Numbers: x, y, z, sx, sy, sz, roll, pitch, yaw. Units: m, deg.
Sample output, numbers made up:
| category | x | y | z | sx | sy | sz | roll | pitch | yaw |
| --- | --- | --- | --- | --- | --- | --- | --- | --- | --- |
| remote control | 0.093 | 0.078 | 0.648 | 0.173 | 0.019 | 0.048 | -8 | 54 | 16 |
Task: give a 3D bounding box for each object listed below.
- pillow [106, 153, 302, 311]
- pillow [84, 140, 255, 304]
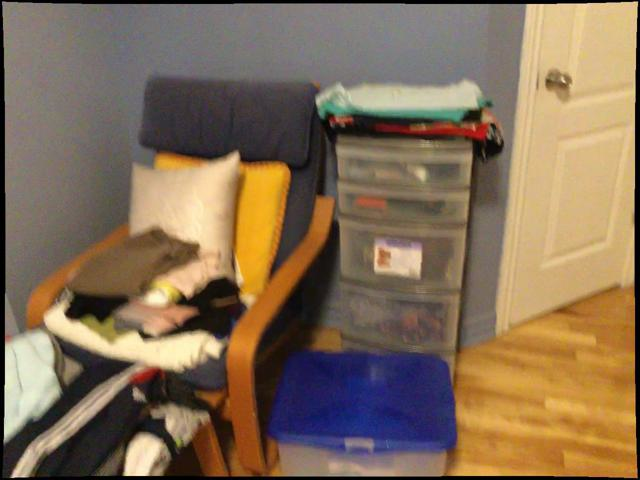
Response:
| category | x | y | z | sx | sy | sz | roll | pitch | yaw |
| --- | --- | --- | --- | --- | --- | --- | --- | --- | --- |
| pillow | -0.330 | -0.040 | 1.750 | 0.440 | 0.300 | 0.350 | 5 | -62 | 20 |
| pillow | -0.410 | -0.070 | 1.680 | 0.260 | 0.380 | 0.330 | 5 | -62 | 19 |
